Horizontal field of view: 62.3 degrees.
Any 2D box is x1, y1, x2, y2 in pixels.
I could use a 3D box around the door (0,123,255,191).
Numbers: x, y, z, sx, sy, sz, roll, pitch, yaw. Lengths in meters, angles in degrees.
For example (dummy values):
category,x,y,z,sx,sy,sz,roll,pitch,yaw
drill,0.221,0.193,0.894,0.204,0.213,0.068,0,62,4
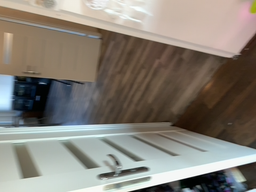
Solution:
category,x,y,z,sx,sy,sz,roll,pitch,yaw
door,-0.150,0.310,1.220,0.830,2.050,0.100,8,95,57
